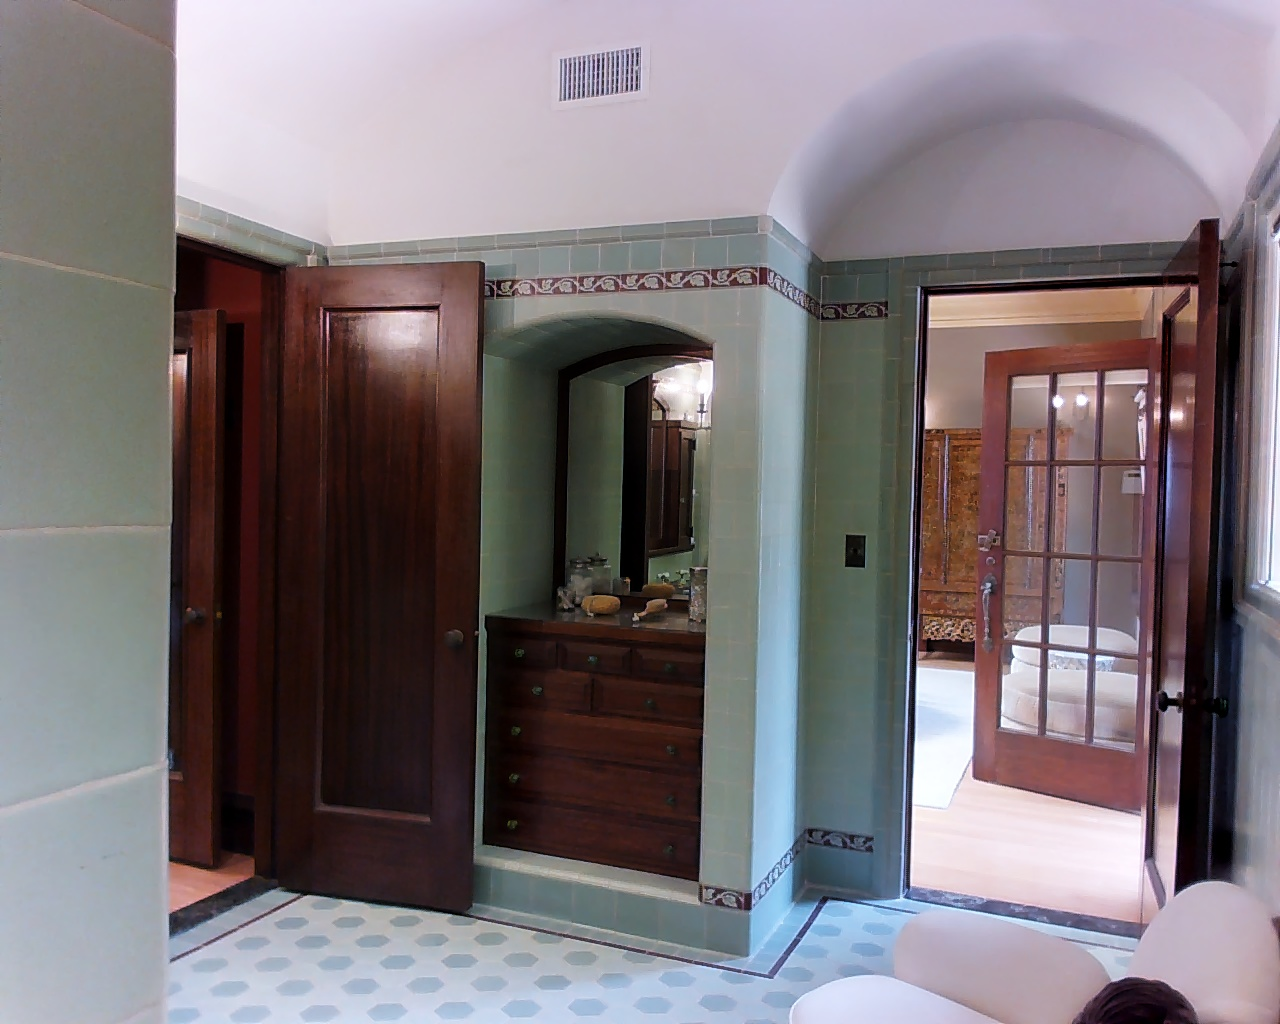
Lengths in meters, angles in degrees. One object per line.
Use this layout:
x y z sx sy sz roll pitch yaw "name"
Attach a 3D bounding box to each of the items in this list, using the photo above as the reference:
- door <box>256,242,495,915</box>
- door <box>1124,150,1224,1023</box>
-0.900 0.210 3.620 0.790 2.180 0.080 2 2 14 "door"
1.500 0.260 3.070 0.060 2.290 0.890 2 2 19 "door"
